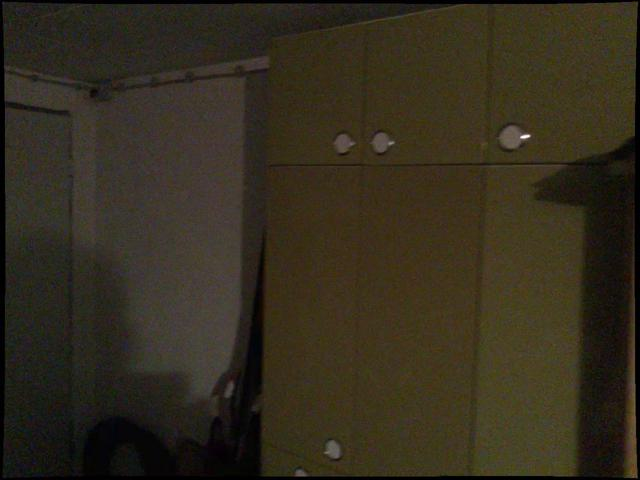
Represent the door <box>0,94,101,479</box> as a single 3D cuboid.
[{"bbox_3d":[-1.489,0.350,2.510,0.200,1.942,1.020,7,7,36],"label":"door"}]
